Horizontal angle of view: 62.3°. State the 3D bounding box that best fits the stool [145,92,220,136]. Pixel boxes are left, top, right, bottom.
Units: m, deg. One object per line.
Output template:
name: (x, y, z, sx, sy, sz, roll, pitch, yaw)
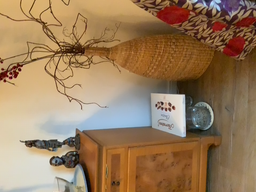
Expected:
stool: (0.380, 0.110, 1.560, 0.440, 0.320, 0.260, 4, 93, 63)
